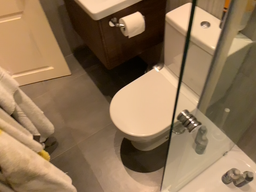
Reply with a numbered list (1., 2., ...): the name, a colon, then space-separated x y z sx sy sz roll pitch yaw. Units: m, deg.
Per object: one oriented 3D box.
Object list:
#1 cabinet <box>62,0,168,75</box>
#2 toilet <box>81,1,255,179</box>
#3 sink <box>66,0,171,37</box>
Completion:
1. cabinet: -0.110 -0.580 1.490 0.470 0.420 0.610 -31 58 -16
2. toilet: 0.200 0.020 1.250 0.650 0.800 0.400 -31 58 -16
3. sink: -0.130 -0.690 1.320 0.480 0.140 0.660 -31 58 -16
